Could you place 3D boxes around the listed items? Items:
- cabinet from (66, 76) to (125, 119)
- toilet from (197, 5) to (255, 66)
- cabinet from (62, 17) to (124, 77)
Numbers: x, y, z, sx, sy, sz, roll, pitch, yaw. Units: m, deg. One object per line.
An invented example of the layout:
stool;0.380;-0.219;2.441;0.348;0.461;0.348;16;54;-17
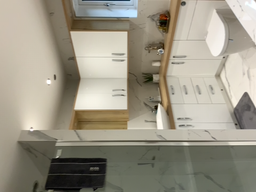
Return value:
cabinet;-0.440;0.010;3.110;0.250;0.770;0.610;92;177;-49
toilet;1.090;-0.660;2.300;0.410;0.460;0.540;92;177;-49
cabinet;-0.440;-0.660;3.000;0.810;0.750;0.270;92;177;-49
